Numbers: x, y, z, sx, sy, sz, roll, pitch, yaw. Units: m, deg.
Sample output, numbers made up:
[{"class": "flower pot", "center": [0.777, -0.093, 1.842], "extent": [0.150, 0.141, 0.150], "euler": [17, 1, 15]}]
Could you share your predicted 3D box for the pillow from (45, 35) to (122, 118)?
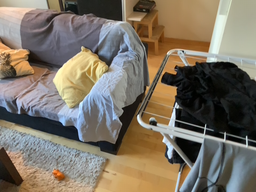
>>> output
[{"class": "pillow", "center": [-0.370, -0.160, 1.700], "extent": [0.220, 0.470, 0.440], "euler": [46, 12, -54]}]

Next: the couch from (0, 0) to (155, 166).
[{"class": "couch", "center": [-0.740, -0.250, 1.910], "extent": [0.910, 1.730, 0.840], "euler": [-59, 155, -46]}]
